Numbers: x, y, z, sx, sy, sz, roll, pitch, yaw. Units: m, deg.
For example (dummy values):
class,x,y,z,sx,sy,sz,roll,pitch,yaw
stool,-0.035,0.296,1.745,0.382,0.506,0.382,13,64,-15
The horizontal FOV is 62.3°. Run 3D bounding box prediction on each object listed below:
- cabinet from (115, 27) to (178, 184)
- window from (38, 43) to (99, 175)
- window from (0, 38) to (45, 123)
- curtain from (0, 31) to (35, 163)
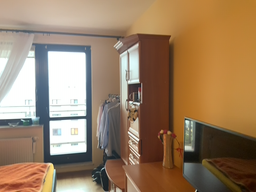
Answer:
class,x,y,z,sx,sy,sz,roll,pitch,yaw
cabinet,0.160,0.080,2.510,0.450,1.490,0.950,-1,2,-14
window,-1.070,0.230,3.920,1.030,2.310,0.150,-1,2,-17
window,-2.290,-0.250,3.500,1.670,1.370,0.230,-1,2,-17
curtain,-2.380,0.030,3.270,1.680,2.050,0.190,-1,2,-16
